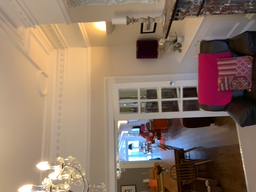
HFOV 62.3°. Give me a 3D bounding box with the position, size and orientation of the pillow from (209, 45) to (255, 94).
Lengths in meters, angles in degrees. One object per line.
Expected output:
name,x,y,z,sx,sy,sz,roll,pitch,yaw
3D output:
pillow,1.170,-0.290,2.390,0.140,0.340,0.440,-37,-74,-57
